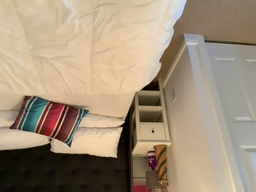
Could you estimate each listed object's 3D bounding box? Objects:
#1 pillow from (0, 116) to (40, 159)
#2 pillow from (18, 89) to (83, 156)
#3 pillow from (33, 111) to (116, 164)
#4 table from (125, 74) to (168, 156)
[{"bbox_3d":[-1.190,0.410,2.060,0.520,0.400,0.210,1,-138,-6],"label":"pillow"},{"bbox_3d":[-0.670,0.220,1.900,0.460,0.420,0.230,-15,-148,-34],"label":"pillow"},{"bbox_3d":[-0.510,0.420,2.140,0.760,0.480,0.190,2,-160,-2],"label":"pillow"},{"bbox_3d":[0.170,0.230,2.440,0.340,0.530,0.790,1,-118,-7],"label":"table"}]
